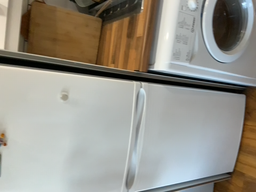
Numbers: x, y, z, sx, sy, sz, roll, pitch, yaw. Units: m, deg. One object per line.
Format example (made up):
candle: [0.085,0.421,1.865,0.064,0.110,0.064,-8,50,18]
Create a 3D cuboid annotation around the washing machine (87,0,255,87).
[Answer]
washing machine: [0.340,-0.430,1.350,0.710,0.920,0.610,15,99,56]
